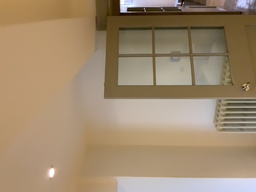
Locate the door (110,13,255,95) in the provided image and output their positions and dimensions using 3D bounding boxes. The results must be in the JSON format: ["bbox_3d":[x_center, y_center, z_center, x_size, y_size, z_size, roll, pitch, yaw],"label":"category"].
[{"bbox_3d":[0.790,-0.380,1.870,0.050,1.880,0.750,85,-175,-77],"label":"door"}]
